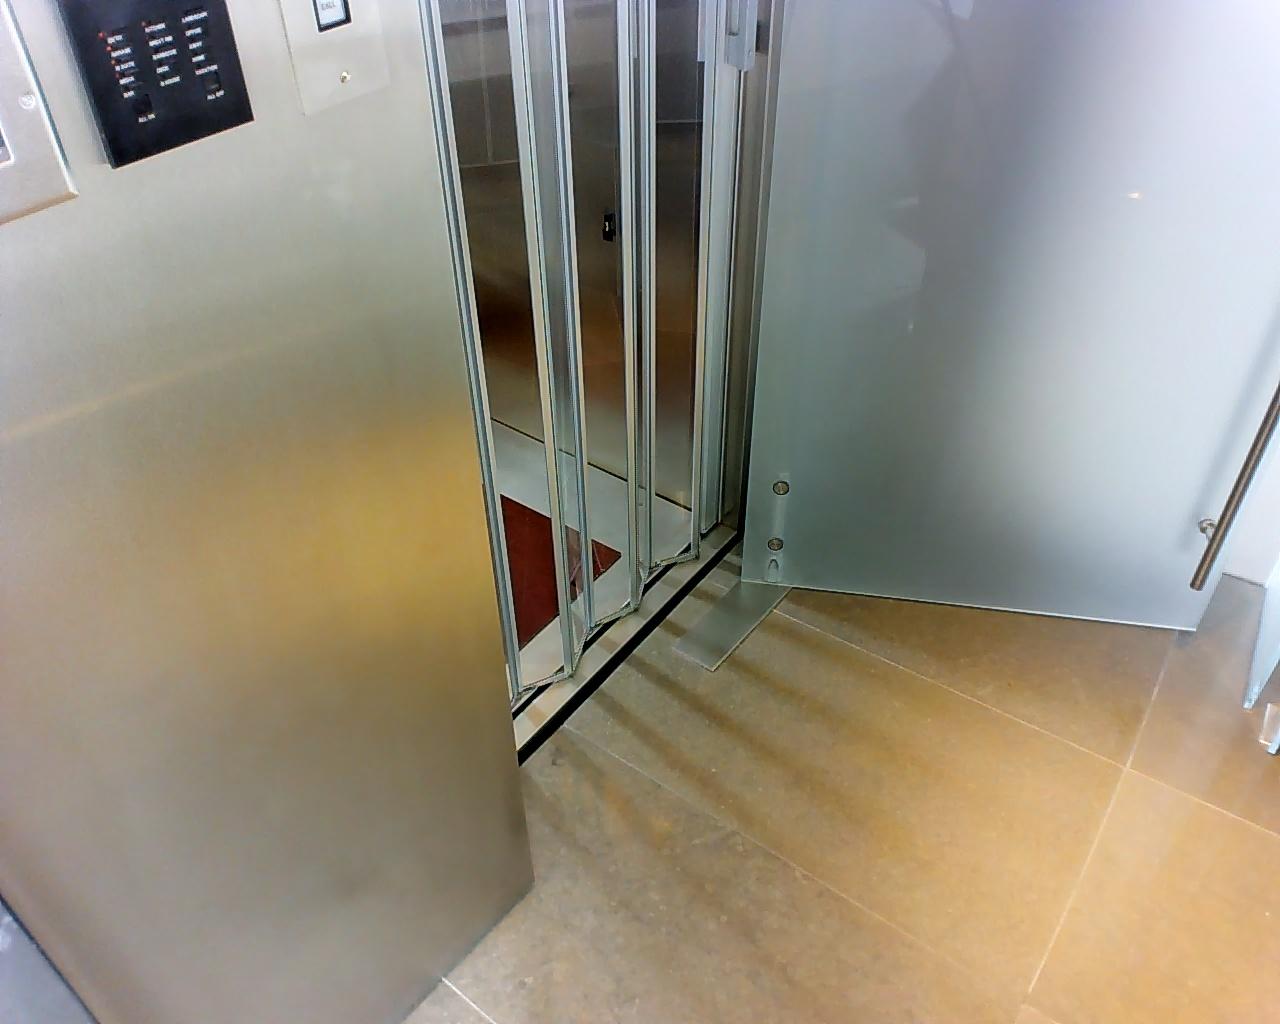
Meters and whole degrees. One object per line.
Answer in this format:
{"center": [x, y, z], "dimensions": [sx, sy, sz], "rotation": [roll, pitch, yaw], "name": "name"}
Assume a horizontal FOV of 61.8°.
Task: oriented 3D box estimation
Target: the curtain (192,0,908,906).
{"center": [0.000, -0.480, 1.460], "dimensions": [0.270, 2.150, 1.040], "rotation": [25, 48, 27], "name": "curtain"}
